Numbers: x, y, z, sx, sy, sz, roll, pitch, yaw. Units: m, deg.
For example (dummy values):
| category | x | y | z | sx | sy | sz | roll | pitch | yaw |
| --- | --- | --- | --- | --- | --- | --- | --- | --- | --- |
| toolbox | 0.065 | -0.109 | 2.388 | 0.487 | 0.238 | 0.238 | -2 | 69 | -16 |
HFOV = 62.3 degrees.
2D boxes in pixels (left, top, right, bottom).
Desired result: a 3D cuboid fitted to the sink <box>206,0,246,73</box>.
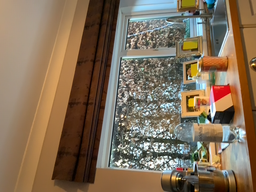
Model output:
| category | x | y | z | sx | sy | sz | roll | pitch | yaw |
| --- | --- | --- | --- | --- | --- | --- | --- | --- | --- |
| sink | 0.710 | -0.540 | 1.600 | 0.530 | 0.110 | 0.540 | 67 | -154 | -64 |
